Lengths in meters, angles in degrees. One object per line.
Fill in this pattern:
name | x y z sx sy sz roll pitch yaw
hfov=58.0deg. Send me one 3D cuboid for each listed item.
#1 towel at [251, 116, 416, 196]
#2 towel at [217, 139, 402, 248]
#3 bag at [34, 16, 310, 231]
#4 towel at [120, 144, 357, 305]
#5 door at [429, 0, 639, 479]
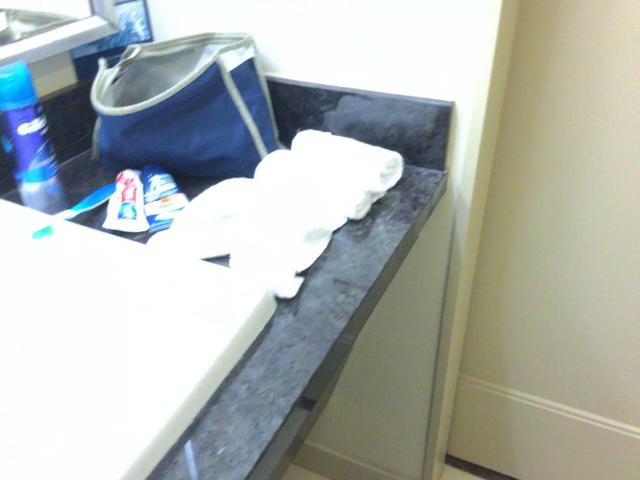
towel | 0.020 -0.130 0.860 0.220 0.050 0.100 13 36 22
towel | -0.010 -0.070 0.780 0.200 0.050 0.150 13 36 22
bag | -0.190 -0.190 0.850 0.240 0.190 0.290 13 36 22
towel | -0.090 -0.030 0.700 0.220 0.080 0.170 13 36 22
door | 0.660 0.080 0.950 0.870 1.340 0.080 13 36 22
